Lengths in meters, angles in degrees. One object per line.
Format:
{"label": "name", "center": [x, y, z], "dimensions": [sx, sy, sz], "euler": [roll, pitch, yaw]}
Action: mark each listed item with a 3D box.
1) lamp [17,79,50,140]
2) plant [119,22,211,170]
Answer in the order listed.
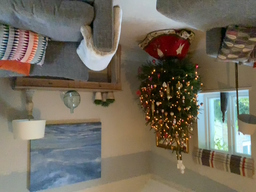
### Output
{"label": "lamp", "center": [-1.360, 0.180, 3.040], "dimensions": [0.350, 0.780, 0.510], "euler": [1, 178, -34]}
{"label": "plant", "center": [0.560, 0.010, 3.510], "dimensions": [0.890, 1.930, 1.200], "euler": [1, 178, -37]}
